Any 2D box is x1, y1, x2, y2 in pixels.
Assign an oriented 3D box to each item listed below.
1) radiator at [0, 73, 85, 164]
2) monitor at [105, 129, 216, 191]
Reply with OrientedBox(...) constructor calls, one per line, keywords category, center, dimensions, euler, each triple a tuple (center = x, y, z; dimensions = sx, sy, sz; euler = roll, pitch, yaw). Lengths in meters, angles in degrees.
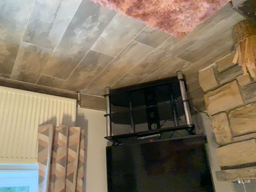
OrientedBox(category="radiator", center=(-1.110, 0.130, 1.520), dimensions=(1.630, 0.660, 0.150), euler=(12, 151, -32))
OrientedBox(category="monitor", center=(0.240, 0.630, 1.870), dimensions=(0.920, 0.540, 0.060), euler=(-11, 155, 15))
